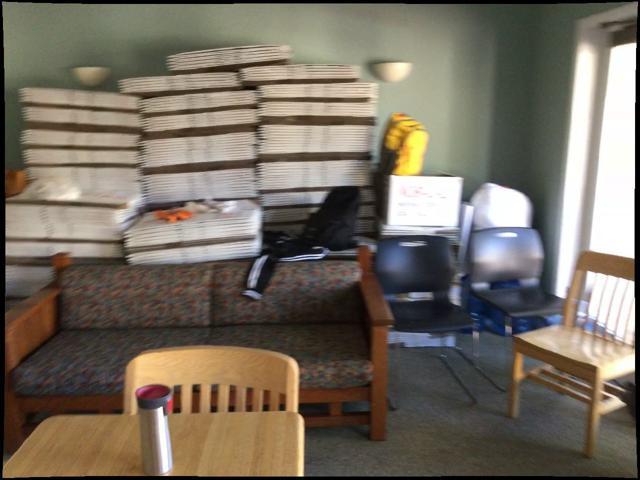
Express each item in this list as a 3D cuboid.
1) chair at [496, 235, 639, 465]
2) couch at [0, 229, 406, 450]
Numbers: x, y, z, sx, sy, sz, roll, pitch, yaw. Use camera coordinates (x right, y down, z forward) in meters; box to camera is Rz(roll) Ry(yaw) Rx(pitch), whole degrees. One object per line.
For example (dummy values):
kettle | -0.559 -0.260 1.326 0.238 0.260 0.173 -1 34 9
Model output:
chair | 1.329 0.470 2.800 0.640 0.791 0.610 -12 18 -34
couch | -0.579 0.460 3.110 1.928 0.761 1.070 -1 15 1
